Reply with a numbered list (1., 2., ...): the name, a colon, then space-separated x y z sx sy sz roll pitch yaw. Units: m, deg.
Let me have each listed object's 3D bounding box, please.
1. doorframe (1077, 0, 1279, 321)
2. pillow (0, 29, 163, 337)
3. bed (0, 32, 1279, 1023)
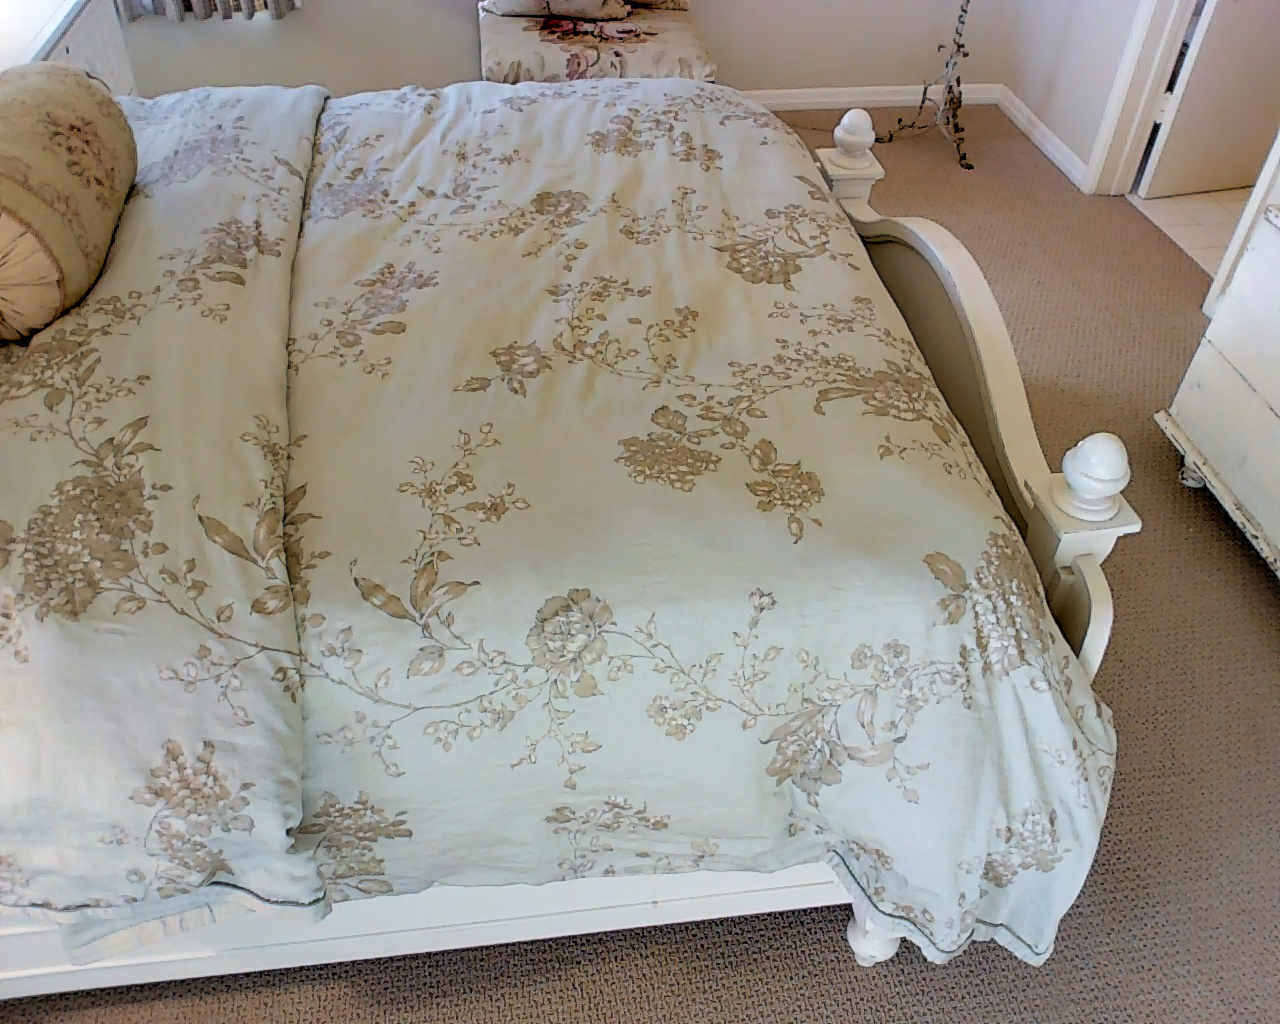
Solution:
1. doorframe: 1.760 -1.640 2.730 0.270 2.140 0.850 -5 43 -8
2. pillow: -0.870 -0.490 1.540 0.270 0.180 0.590 -8 44 -12
3. bed: -0.410 -0.070 1.840 2.050 0.850 1.780 -3 43 -6
